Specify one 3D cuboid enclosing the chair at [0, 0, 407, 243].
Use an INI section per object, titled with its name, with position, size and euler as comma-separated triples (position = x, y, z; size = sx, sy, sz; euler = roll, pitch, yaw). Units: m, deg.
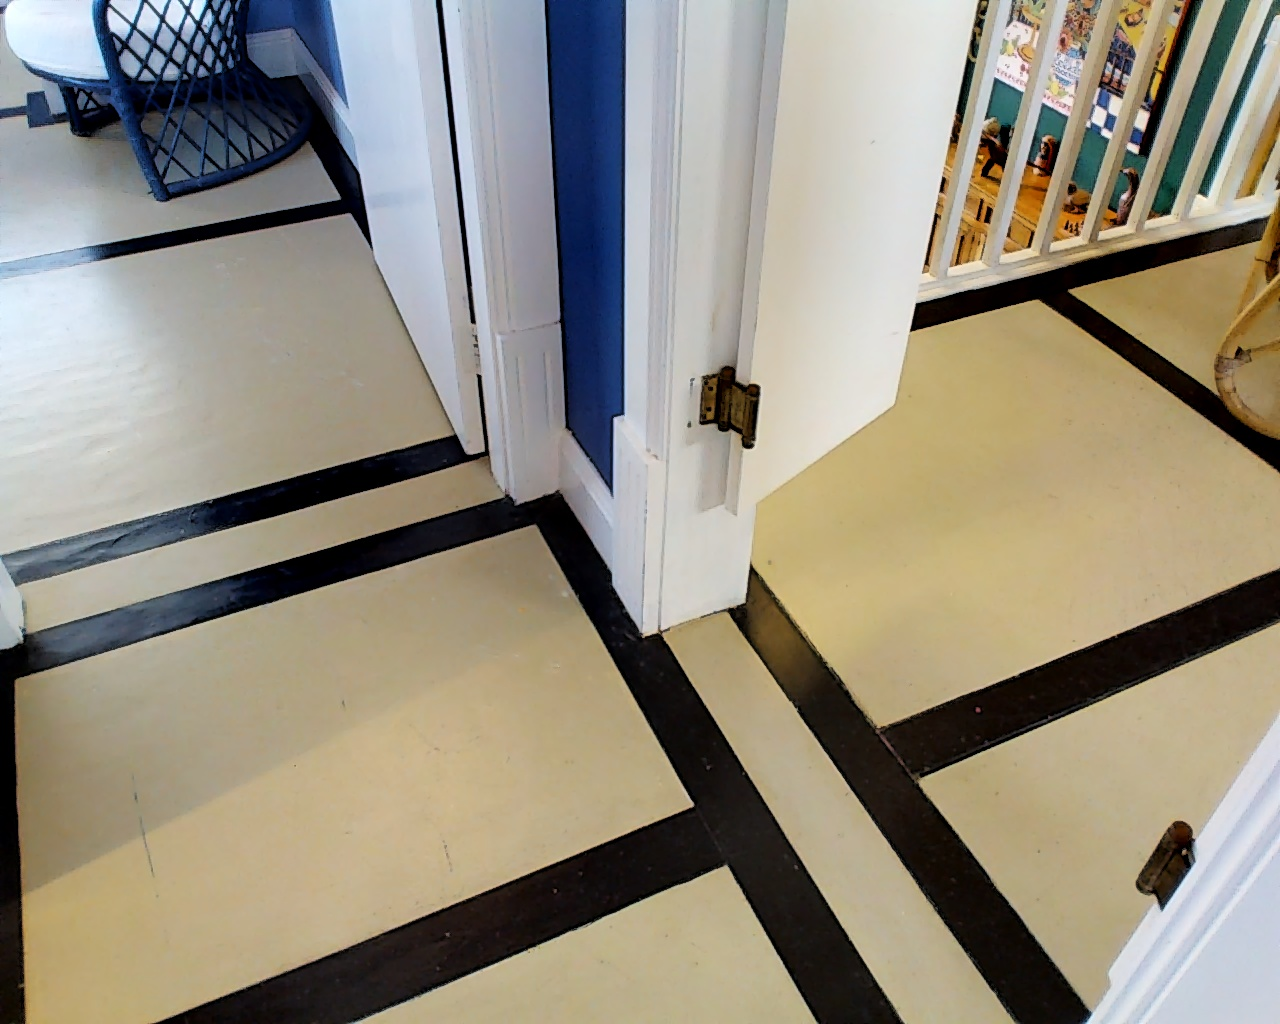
[chair]
position = -1.260, -1.330, 2.900
size = 0.900, 0.730, 0.750
euler = -27, 48, -28
